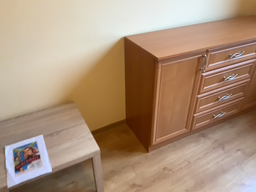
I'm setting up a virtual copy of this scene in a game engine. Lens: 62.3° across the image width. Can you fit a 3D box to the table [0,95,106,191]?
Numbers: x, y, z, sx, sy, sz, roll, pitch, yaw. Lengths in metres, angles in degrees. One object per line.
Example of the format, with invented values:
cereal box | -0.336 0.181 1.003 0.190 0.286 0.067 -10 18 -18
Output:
table | -0.530 0.400 1.420 0.570 0.460 0.590 -15 38 -21
